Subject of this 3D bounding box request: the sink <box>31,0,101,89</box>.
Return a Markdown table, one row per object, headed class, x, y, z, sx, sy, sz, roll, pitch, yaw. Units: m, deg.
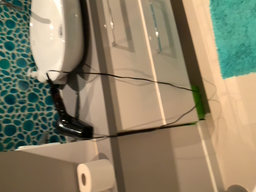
| class | x | y | z | sx | sy | sz | roll | pitch | yaw |
| --- | --- | --- | --- | --- | --- | --- | --- | --- | --- |
| sink | -0.320 | -0.360 | 0.990 | 0.380 | 0.130 | 0.570 | -22 | 73 | 48 |
